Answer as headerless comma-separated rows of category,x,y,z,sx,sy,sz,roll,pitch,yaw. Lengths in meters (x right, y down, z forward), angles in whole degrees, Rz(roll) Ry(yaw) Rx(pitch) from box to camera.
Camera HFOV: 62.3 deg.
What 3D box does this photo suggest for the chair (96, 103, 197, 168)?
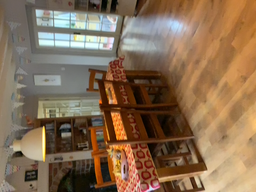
chair,0.180,0.450,2.530,0.500,1.020,0.480,107,155,-43
